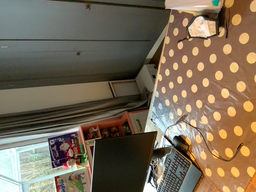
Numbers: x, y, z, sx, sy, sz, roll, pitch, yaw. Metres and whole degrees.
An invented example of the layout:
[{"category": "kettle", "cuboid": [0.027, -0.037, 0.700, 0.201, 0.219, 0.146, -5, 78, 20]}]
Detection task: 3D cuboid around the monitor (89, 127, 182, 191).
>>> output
[{"category": "monitor", "cuboid": [0.030, 0.420, 1.180, 0.030, 0.470, 0.540, 46, 128, 48]}]
